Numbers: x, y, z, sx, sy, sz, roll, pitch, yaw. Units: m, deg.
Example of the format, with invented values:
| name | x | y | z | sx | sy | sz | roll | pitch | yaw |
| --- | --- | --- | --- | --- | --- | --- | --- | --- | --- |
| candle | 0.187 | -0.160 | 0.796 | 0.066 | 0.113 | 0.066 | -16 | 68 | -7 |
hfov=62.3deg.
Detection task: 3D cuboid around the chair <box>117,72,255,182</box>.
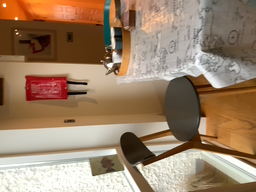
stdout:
| name | x | y | z | sx | sy | sz | roll | pitch | yaw |
| --- | --- | --- | --- | --- | --- | --- | --- | --- | --- |
| chair | 0.380 | 0.140 | 1.440 | 0.520 | 0.790 | 0.540 | -143 | 54 | -70 |
